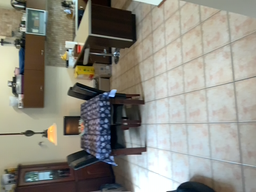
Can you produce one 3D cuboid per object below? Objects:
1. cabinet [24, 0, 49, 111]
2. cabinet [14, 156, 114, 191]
[{"bbox_3d":[-2.050,-1.310,4.830,0.330,0.420,3.290,162,108,-66],"label":"cabinet"},{"bbox_3d":[-1.320,1.700,4.560,0.560,1.930,0.590,156,114,-65],"label":"cabinet"}]
